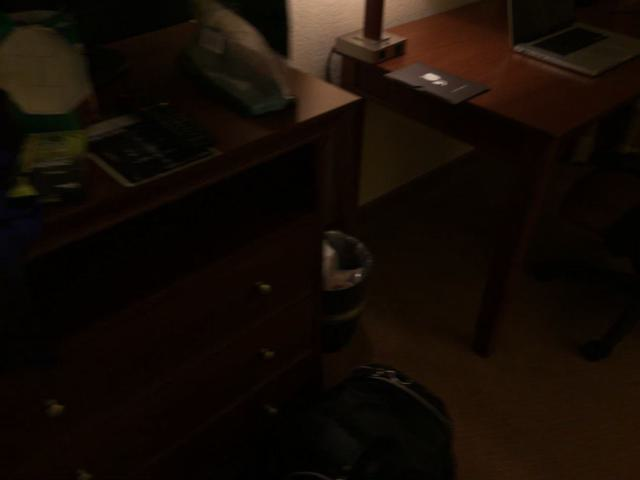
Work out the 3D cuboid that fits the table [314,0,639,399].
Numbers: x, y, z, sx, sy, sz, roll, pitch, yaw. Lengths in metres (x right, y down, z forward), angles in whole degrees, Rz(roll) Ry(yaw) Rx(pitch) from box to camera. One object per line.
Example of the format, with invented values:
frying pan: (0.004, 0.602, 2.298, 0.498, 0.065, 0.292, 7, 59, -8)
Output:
table: (0.750, -0.330, 1.920, 1.290, 0.770, 0.850, -29, 46, -31)
